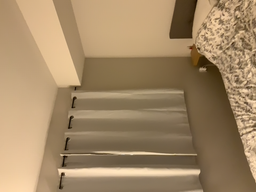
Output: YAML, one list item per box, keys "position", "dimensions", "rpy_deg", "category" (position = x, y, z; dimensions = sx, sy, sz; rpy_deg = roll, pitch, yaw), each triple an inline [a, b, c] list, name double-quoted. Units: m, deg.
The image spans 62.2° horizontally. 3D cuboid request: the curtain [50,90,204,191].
- position: [-0.010, 0.790, 2.460]
  dimensions: [0.140, 1.620, 1.980]
  rpy_deg: [90, -179, -57]
  category: "curtain"
